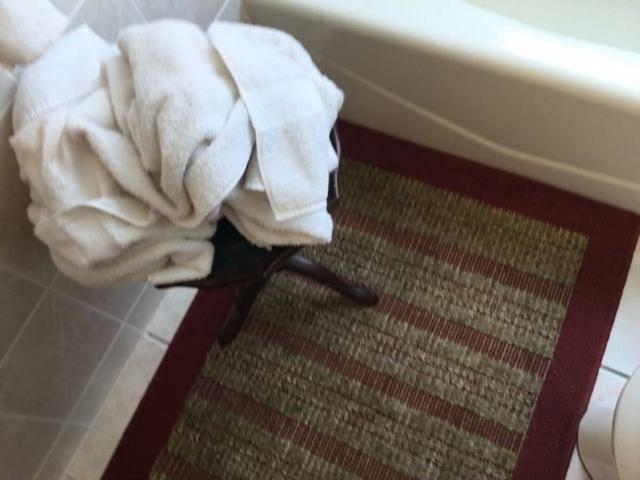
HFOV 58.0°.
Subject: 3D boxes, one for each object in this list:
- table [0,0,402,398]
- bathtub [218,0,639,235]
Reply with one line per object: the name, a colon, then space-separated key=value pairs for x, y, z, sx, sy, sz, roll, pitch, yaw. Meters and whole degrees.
table: x=-0.100 y=-0.010 z=0.900 sx=0.350 sy=0.550 sz=0.340 roll=21 pitch=75 yaw=15
bathtub: x=0.660 y=-0.430 z=1.040 sx=1.450 sy=0.350 sz=0.760 roll=21 pitch=75 yaw=15
